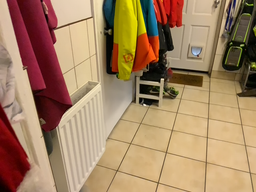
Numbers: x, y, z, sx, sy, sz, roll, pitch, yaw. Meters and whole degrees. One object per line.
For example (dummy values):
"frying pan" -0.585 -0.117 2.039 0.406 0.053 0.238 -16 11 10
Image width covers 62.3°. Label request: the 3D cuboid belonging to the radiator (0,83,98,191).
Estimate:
"radiator" -0.390 0.370 1.200 0.130 0.680 0.630 10 31 17
